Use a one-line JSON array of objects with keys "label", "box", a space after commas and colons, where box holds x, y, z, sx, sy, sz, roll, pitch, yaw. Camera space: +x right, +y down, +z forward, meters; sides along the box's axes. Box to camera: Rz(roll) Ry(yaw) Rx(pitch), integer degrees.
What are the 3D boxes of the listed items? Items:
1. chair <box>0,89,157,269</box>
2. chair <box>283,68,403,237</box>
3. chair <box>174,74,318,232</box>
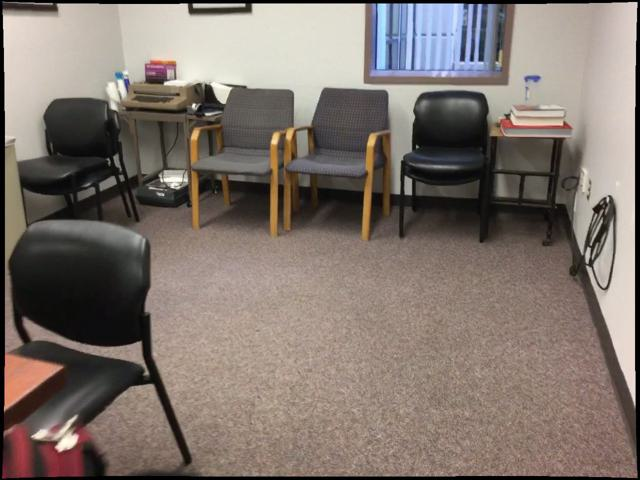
[{"label": "chair", "box": [-1.536, -0.421, 3.600, 0.589, 0.882, 0.800, 6, 24, 13]}, {"label": "chair", "box": [0.190, -0.622, 3.900, 0.579, 0.882, 0.790, 7, 30, 17]}, {"label": "chair", "box": [-0.459, -0.632, 4.000, 0.668, 0.872, 0.780, 4, 26, 14]}]
